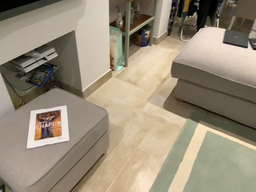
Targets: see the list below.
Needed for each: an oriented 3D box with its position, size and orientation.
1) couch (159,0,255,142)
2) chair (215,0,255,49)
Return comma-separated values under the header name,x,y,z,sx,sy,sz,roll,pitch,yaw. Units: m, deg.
name,x,y,z,sx,sy,sz,roll,pitch,yaw
couch,1.090,-0.340,1.850,1.210,0.930,0.970,24,45,22
chair,1.690,-1.250,2.970,0.450,0.910,0.610,28,46,26
